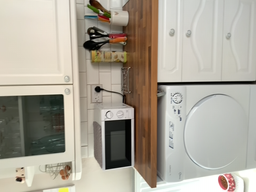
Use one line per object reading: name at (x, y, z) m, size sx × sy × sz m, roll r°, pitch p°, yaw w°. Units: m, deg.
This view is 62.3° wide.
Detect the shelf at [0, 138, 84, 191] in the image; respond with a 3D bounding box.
shelf at (-0.830, 0.500, 1.430) m, size 0.330 × 1.010 × 0.250 m, roll -161°, pitch 70°, yaw -70°

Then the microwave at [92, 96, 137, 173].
microwave at (-0.120, 0.260, 1.630) m, size 0.360 × 0.260 × 0.480 m, roll -159°, pitch 68°, yaw -70°

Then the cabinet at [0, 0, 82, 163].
cabinet at (-0.830, -0.150, 1.350) m, size 0.350 × 1.000 × 1.060 m, roll -161°, pitch 70°, yaw -70°
